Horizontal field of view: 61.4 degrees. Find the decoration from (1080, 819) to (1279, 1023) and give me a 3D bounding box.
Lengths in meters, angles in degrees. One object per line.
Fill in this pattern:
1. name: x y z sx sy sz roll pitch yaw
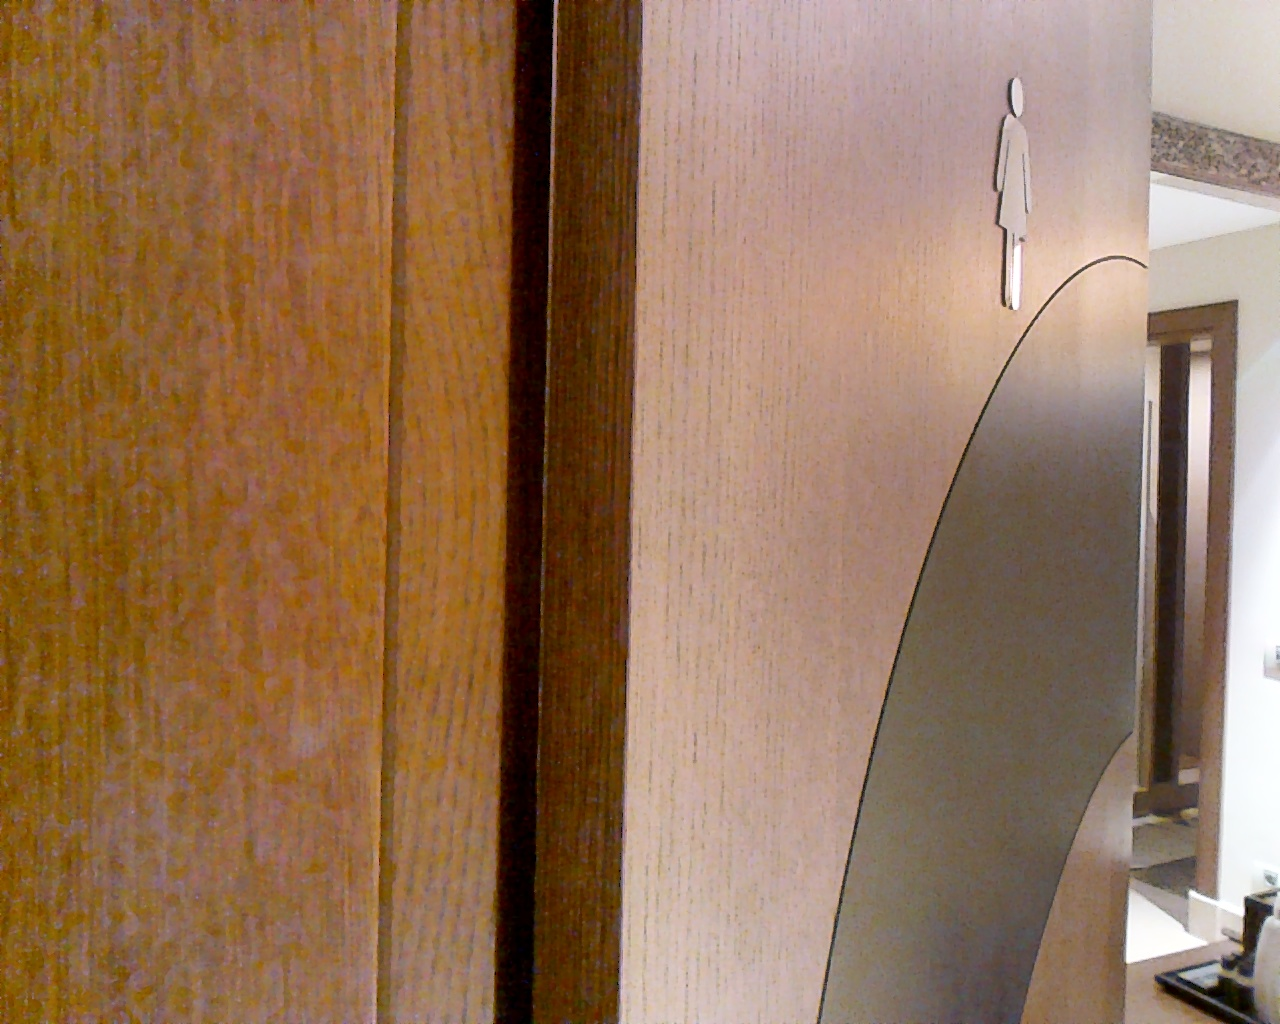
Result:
1. decoration: 0.940 0.700 1.770 0.310 0.290 0.250 1 1 -25
